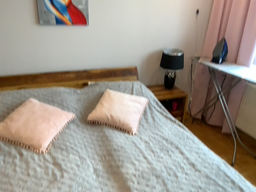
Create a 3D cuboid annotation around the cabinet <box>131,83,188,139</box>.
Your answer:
[{"bbox_3d":[0.400,0.180,2.850,0.580,0.560,0.410,-7,25,-21],"label":"cabinet"}]

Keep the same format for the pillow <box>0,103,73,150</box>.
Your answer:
[{"bbox_3d":[-0.720,0.210,1.630,0.430,0.100,0.430,8,23,12],"label":"pillow"}]
